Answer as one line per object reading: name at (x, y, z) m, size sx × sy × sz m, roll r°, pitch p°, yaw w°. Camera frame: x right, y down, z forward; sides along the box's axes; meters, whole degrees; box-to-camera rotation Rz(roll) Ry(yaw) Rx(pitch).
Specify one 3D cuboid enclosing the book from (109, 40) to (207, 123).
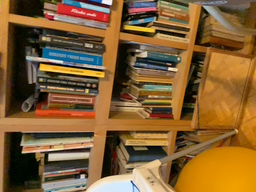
book at (0.130, -0.080, 1.100) m, size 0.300 × 0.350 × 0.360 m, roll -147°, pitch 63°, yaw -65°

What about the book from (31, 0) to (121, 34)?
book at (-0.230, -0.460, 0.920) m, size 0.340 × 0.320 × 0.310 m, roll -146°, pitch 62°, yaw -65°

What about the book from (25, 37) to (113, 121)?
book at (-0.270, -0.080, 0.940) m, size 0.260 × 0.310 × 0.300 m, roll -143°, pitch 59°, yaw -64°
